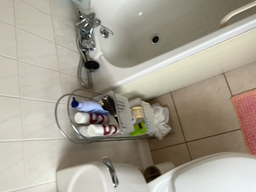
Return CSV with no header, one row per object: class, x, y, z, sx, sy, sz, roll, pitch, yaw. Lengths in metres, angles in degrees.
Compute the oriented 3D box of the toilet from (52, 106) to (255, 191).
toilet,0.280,0.430,0.870,0.730,0.770,0.530,-22,71,26
